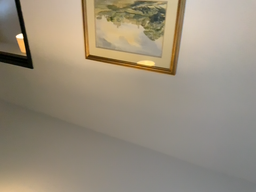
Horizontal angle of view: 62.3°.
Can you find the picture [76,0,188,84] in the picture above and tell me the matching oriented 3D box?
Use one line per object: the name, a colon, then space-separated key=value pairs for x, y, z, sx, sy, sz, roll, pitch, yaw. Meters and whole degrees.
picture: x=-0.010 y=-0.460 z=1.400 sx=0.740 sy=0.650 sz=0.070 roll=14 pitch=-148 yaw=23
